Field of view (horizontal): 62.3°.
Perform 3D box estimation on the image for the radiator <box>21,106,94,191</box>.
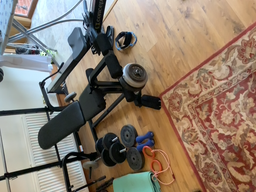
[{"bbox_3d":[-0.800,0.930,2.570,0.100,0.630,1.710,-38,65,42],"label":"radiator"}]
